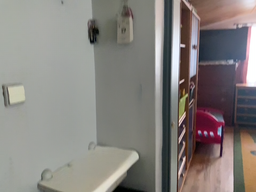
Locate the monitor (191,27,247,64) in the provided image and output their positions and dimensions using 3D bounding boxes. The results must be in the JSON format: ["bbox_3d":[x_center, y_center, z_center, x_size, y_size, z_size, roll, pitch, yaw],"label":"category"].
[{"bbox_3d":[1.870,-1.040,4.430,1.060,0.710,0.020,2,8,17],"label":"monitor"}]
